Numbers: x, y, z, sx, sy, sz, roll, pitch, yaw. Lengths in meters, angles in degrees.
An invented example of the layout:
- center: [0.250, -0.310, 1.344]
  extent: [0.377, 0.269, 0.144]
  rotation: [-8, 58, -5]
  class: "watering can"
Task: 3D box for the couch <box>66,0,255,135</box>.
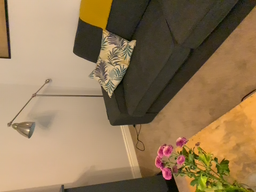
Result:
- center: [0.170, -0.680, 1.580]
  extent: [2.340, 0.800, 0.950]
  rotation: [123, 140, -47]
  class: "couch"
